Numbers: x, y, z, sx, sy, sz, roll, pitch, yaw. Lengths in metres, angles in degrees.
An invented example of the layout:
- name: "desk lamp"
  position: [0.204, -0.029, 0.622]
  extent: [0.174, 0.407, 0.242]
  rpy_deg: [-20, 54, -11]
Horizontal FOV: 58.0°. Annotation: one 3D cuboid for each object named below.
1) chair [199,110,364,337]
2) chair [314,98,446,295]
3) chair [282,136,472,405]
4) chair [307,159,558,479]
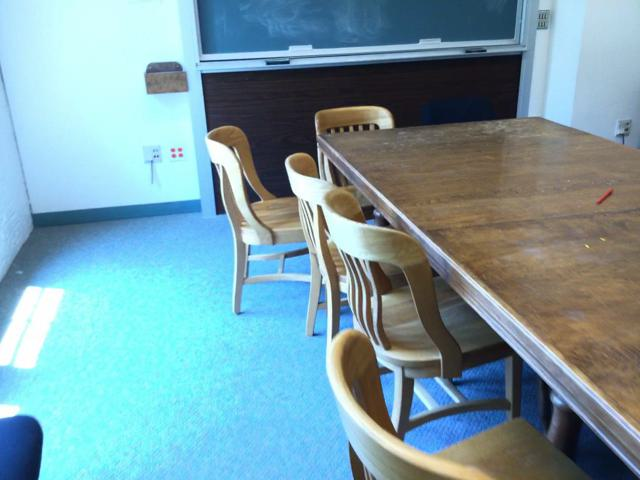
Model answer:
- name: "chair"
  position: [-0.190, -0.110, 2.730]
  extent: [0.620, 0.860, 0.590]
  rpy_deg: [-8, 21, -8]
- name: "chair"
  position: [0.300, -0.250, 2.980]
  extent: [0.500, 0.830, 0.590]
  rpy_deg: [-8, 21, -8]
- name: "chair"
  position: [0.200, 0.080, 2.240]
  extent: [0.550, 0.810, 0.580]
  rpy_deg: [-8, 21, -8]
- name: "chair"
  position: [0.310, 0.250, 1.830]
  extent: [0.550, 0.850, 0.570]
  rpy_deg: [-8, 21, -8]
